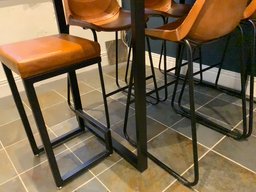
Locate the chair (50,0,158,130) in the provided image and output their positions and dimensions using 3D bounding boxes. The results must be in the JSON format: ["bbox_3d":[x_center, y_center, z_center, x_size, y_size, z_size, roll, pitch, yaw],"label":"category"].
[{"bbox_3d":[-0.150,-0.360,1.570,0.540,0.970,0.490,-23,34,-32],"label":"chair"}]
